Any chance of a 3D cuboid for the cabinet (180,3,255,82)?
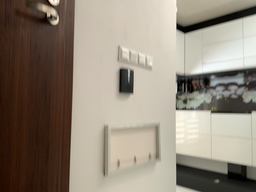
[{"bbox_3d":[1.620,-0.760,3.340,1.420,0.900,0.670,-2,175,44],"label":"cabinet"}]
